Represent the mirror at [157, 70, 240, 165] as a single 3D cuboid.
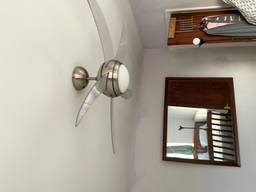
[{"bbox_3d":[1.040,0.250,3.240,0.060,1.100,1.440,59,-145,-64],"label":"mirror"}]
